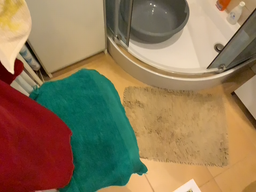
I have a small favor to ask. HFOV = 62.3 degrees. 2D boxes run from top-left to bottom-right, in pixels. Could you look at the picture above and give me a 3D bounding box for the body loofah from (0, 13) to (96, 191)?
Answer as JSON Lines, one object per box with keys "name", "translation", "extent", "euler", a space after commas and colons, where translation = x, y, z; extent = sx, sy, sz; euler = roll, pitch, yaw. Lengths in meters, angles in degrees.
{"name": "body loofah", "translation": [-0.190, 0.000, 0.210], "extent": [0.130, 0.890, 0.320], "euler": [-23, 72, -12]}
